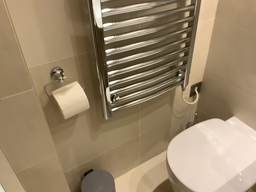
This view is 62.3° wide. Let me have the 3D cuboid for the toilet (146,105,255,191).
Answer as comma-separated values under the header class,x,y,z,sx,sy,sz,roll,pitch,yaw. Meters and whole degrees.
class,x,y,z,sx,sy,sz,roll,pitch,yaw
toilet,0.430,0.410,1.110,0.540,0.450,0.370,-21,41,-24
